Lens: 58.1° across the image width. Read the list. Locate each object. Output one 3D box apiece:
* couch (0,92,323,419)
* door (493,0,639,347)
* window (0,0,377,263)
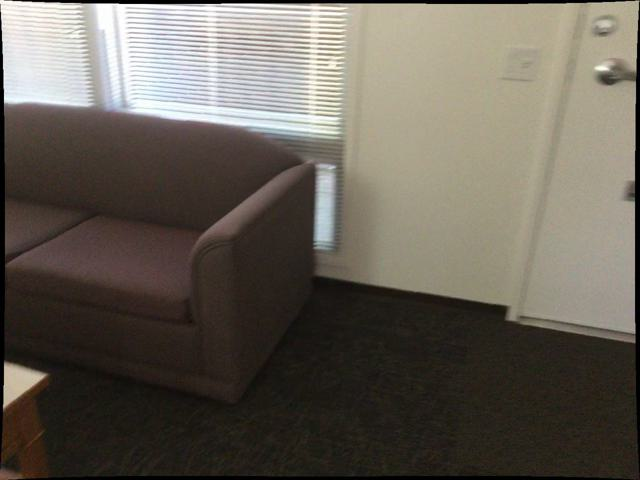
[{"bbox_3d":[-0.988,-0.070,2.370,1.797,0.771,0.930,8,27,14],"label":"couch"},{"bbox_3d":[1.188,-0.531,1.930,0.879,2.063,0.080,8,27,14],"label":"door"},{"bbox_3d":[-0.968,-1.062,2.520,2.376,1.993,0.470,8,27,14],"label":"window"}]
